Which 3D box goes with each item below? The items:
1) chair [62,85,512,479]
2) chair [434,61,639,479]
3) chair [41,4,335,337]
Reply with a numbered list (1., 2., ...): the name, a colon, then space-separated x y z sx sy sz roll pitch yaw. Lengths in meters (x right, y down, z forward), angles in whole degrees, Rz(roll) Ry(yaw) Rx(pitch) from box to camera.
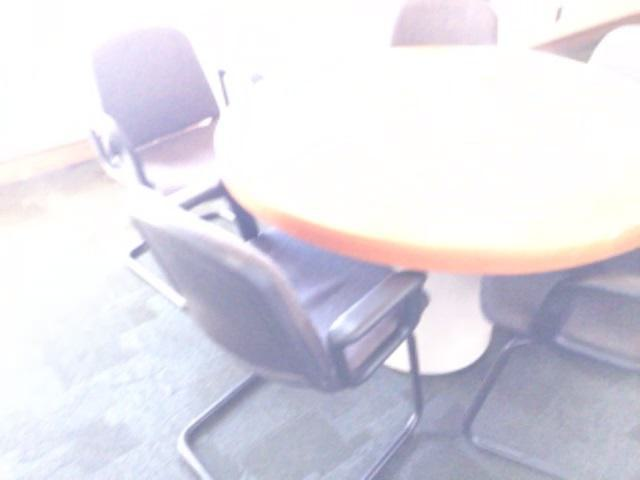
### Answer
1. chair: -0.080 0.200 1.360 0.620 0.840 0.650 -23 40 -28
2. chair: 0.690 0.130 1.360 0.650 0.860 0.640 10 36 18
3. chair: -0.420 -0.290 2.070 0.690 0.850 0.630 -26 41 -30
